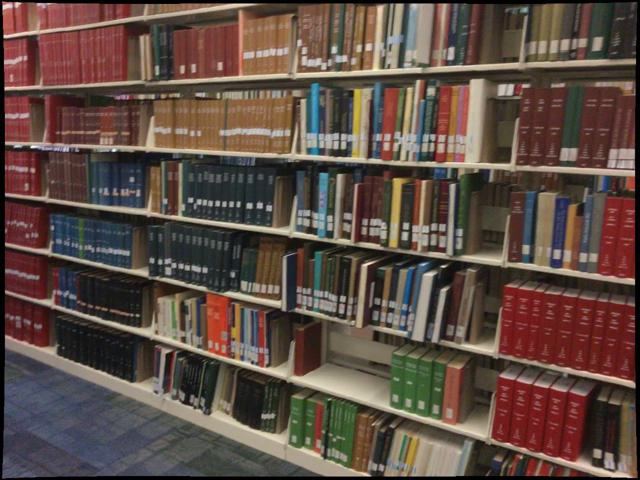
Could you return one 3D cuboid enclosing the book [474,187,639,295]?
[{"bbox_3d":[1.027,0.010,1.860,0.998,0.301,0.180,7,11,32],"label":"book"}]

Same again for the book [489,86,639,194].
[{"bbox_3d":[1.027,-0.301,1.750,0.978,0.321,0.110,7,11,32],"label":"book"}]

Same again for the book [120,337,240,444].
[{"bbox_3d":[-0.738,0.762,3.000,0.679,0.351,0.180,7,11,32],"label":"book"}]

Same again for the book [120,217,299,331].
[{"bbox_3d":[-0.578,0.140,2.880,1.008,0.411,0.190,7,11,32],"label":"book"}]

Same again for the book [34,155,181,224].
[{"bbox_3d":[-1.227,-0.311,3.310,0.819,0.331,0.350,7,11,32],"label":"book"}]

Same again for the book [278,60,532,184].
[{"bbox_3d":[0.329,-0.471,2.370,0.918,0.411,0.430,7,11,32],"label":"book"}]

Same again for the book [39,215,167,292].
[{"bbox_3d":[-1.257,0.060,3.300,0.858,0.321,0.190,7,11,32],"label":"book"}]

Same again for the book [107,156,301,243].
[{"bbox_3d":[-0.608,-0.231,2.890,1.058,0.351,0.260,7,11,32],"label":"book"}]

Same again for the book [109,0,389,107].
[{"bbox_3d":[-0.369,-0.862,2.810,1.268,0.361,0.570,7,11,32],"label":"book"}]

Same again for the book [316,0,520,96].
[{"bbox_3d":[0.369,-0.772,2.230,0.679,0.371,0.360,7,11,32],"label":"book"}]

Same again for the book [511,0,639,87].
[{"bbox_3d":[1.107,-0.672,1.750,0.938,0.341,0.280,7,11,32],"label":"book"}]

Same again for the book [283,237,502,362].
[{"bbox_3d":[0.279,0.211,2.380,0.828,0.331,0.320,7,11,32],"label":"book"}]

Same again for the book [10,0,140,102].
[{"bbox_3d":[-1.327,-1.033,3.090,0.858,0.541,0.160,7,11,32],"label":"book"}]

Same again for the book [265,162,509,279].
[{"bbox_3d":[0.259,-0.120,2.430,0.928,0.381,0.400,7,11,32],"label":"book"}]

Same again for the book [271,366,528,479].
[{"bbox_3d":[0.309,0.892,2.510,1.058,0.371,0.320,7,11,32],"label":"book"}]

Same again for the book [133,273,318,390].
[{"bbox_3d":[-0.509,0.441,3.010,0.938,0.351,0.370,7,11,32],"label":"book"}]

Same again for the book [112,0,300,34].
[{"bbox_3d":[-0.549,-1.113,2.610,1.008,0.241,0.150,7,11,32],"label":"book"}]

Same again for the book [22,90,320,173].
[{"bbox_3d":[-0.868,-0.551,2.920,1.956,0.331,0.140,7,11,32],"label":"book"}]
